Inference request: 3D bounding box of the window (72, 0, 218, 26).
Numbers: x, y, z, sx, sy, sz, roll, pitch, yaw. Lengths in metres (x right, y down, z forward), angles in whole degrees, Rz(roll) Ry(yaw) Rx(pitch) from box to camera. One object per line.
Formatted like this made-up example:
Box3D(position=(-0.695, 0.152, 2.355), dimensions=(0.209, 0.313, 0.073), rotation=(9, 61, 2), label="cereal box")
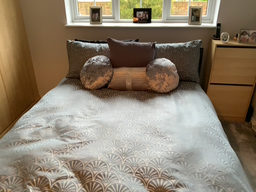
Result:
Box3D(position=(0.160, -1.290, 2.480), dimensions=(1.740, 0.830, 0.110), rotation=(6, 27, 10), label="window")
